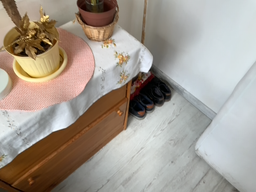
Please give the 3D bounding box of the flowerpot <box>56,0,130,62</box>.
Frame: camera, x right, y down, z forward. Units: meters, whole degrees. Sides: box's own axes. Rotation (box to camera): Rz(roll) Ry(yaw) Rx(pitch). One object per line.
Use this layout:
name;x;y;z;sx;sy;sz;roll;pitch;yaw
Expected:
flowerpot;-0.140;-0.320;0.830;0.160;0.230;0.250;-34;64;-23
